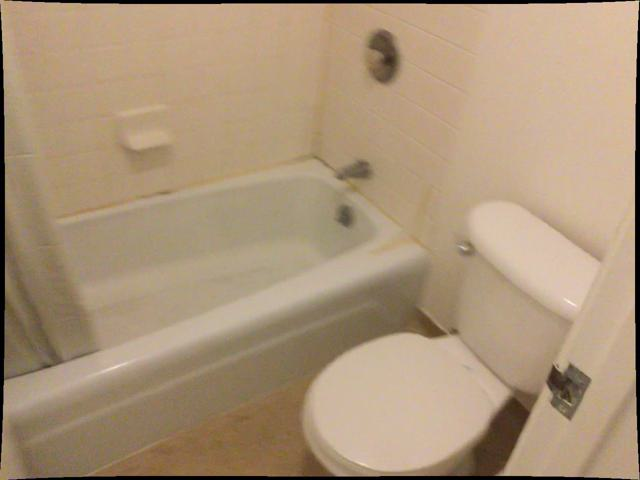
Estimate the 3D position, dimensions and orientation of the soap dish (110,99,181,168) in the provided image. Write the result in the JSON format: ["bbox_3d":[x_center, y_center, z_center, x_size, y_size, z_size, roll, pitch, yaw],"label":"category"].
[{"bbox_3d":[-0.569,-0.351,1.900,0.200,0.190,0.050,-17,42,-27],"label":"soap dish"}]

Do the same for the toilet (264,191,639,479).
[{"bbox_3d":[0.290,0.381,1.430,0.709,0.731,0.470,-17,42,-27],"label":"toilet"}]

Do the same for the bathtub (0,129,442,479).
[{"bbox_3d":[-0.379,0.120,1.900,1.289,0.491,0.740,-17,42,-27],"label":"bathtub"}]
